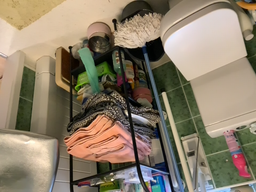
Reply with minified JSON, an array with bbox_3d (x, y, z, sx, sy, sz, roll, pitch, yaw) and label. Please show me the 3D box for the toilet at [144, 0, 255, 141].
[{"bbox_3d":[0.430,-0.250,1.150,0.380,0.780,0.620,-23,147,22],"label":"toilet"}]
